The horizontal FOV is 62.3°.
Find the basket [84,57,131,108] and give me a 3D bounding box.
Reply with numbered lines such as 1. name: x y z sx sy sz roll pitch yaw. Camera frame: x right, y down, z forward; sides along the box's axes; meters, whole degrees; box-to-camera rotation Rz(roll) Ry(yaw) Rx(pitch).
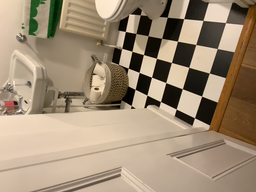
1. basket: -0.190 -0.120 1.900 0.280 0.230 0.370 30 112 44

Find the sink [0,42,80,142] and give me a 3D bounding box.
1. sink: -0.610 -0.060 1.350 0.590 0.290 0.420 29 111 44
